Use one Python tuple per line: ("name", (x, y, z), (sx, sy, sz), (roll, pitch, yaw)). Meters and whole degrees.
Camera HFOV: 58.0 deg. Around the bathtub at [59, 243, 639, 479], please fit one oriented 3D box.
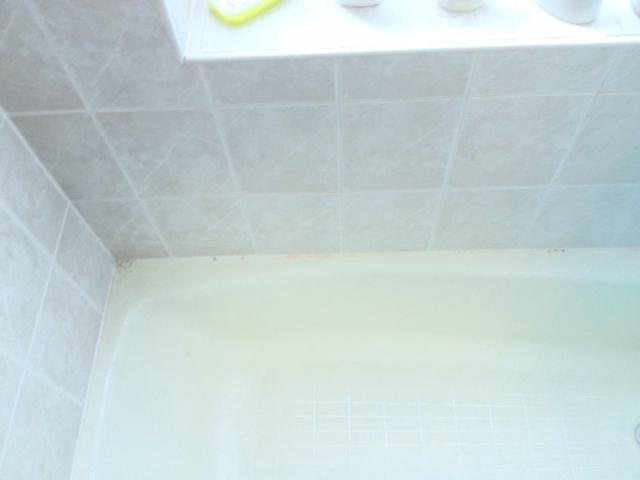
("bathtub", (0.250, 0.430, 1.250), (1.450, 0.360, 0.750), (-1, 59, 2))
